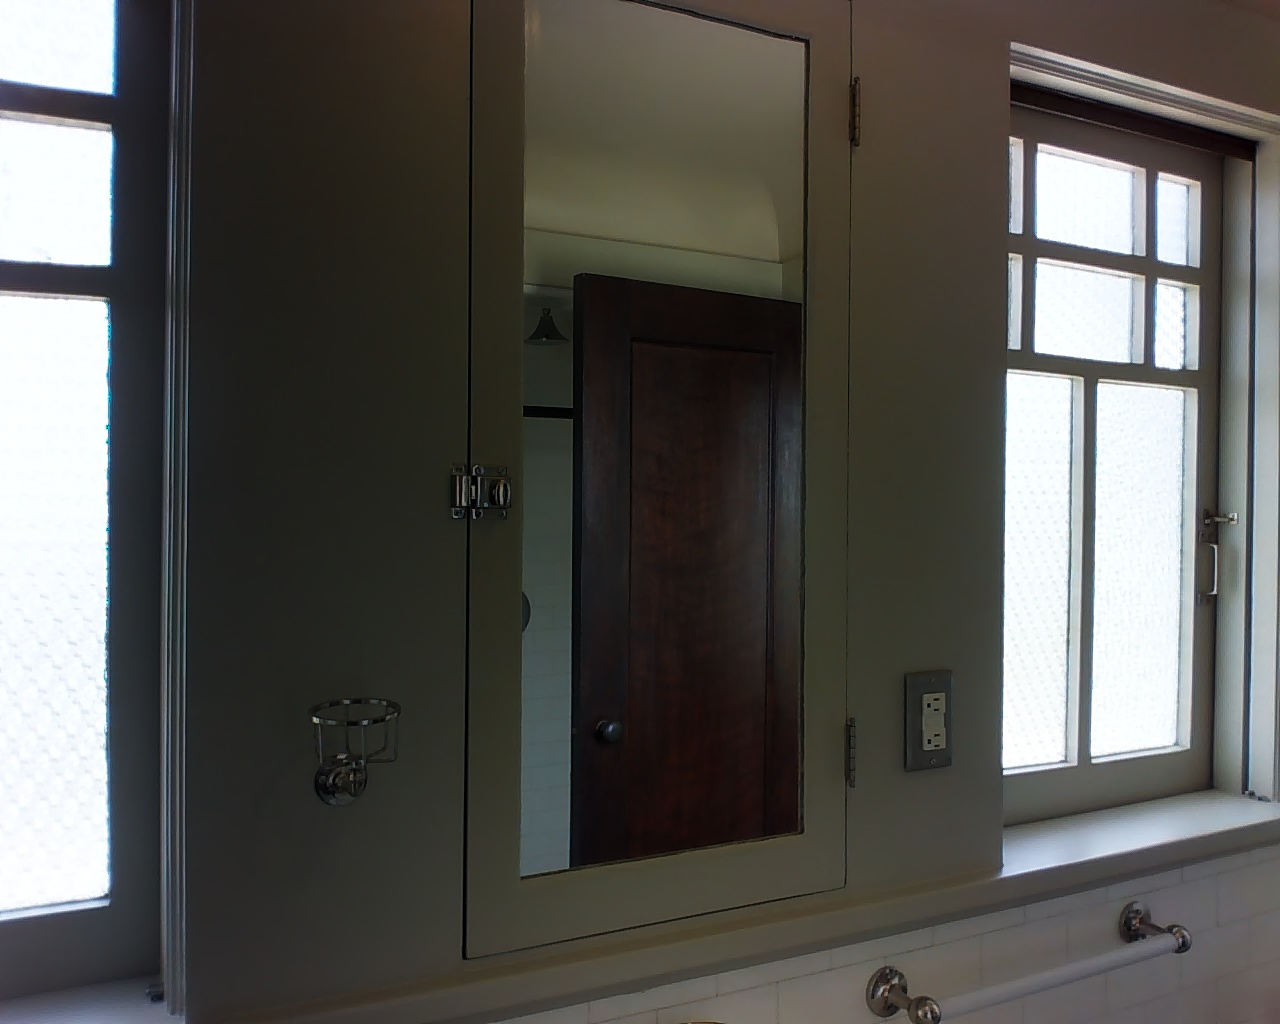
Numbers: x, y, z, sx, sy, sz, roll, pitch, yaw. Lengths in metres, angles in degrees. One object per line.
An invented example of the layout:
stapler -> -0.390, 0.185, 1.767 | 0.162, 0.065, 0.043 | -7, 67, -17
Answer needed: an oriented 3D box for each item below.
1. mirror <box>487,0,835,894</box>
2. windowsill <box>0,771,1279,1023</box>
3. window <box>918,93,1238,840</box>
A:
mirror -> 0.030, -0.090, 1.140 | 0.370, 0.910, 0.070 | 0, 0, -27
windowsill -> 0.020, 0.470, 1.200 | 2.560, 0.070, 0.170 | 0, 0, -27
window -> 0.680, -0.060, 1.640 | 0.580, 1.020, 0.080 | 0, 0, -27
